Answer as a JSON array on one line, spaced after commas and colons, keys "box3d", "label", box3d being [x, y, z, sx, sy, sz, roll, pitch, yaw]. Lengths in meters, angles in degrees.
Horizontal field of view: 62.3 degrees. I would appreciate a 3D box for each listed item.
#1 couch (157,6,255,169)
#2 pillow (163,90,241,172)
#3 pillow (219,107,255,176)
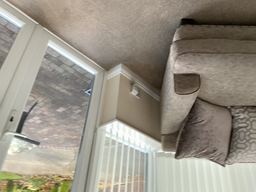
[{"box3d": [1.180, 0.030, 1.730, 1.780, 0.850, 1.070, 3, 148, 3], "label": "couch"}, {"box3d": [0.640, 0.290, 1.840, 0.490, 0.560, 0.190, -14, 169, -30], "label": "pillow"}, {"box3d": [1.150, 0.330, 1.780, 0.570, 0.480, 0.180, -14, 170, -8], "label": "pillow"}]
